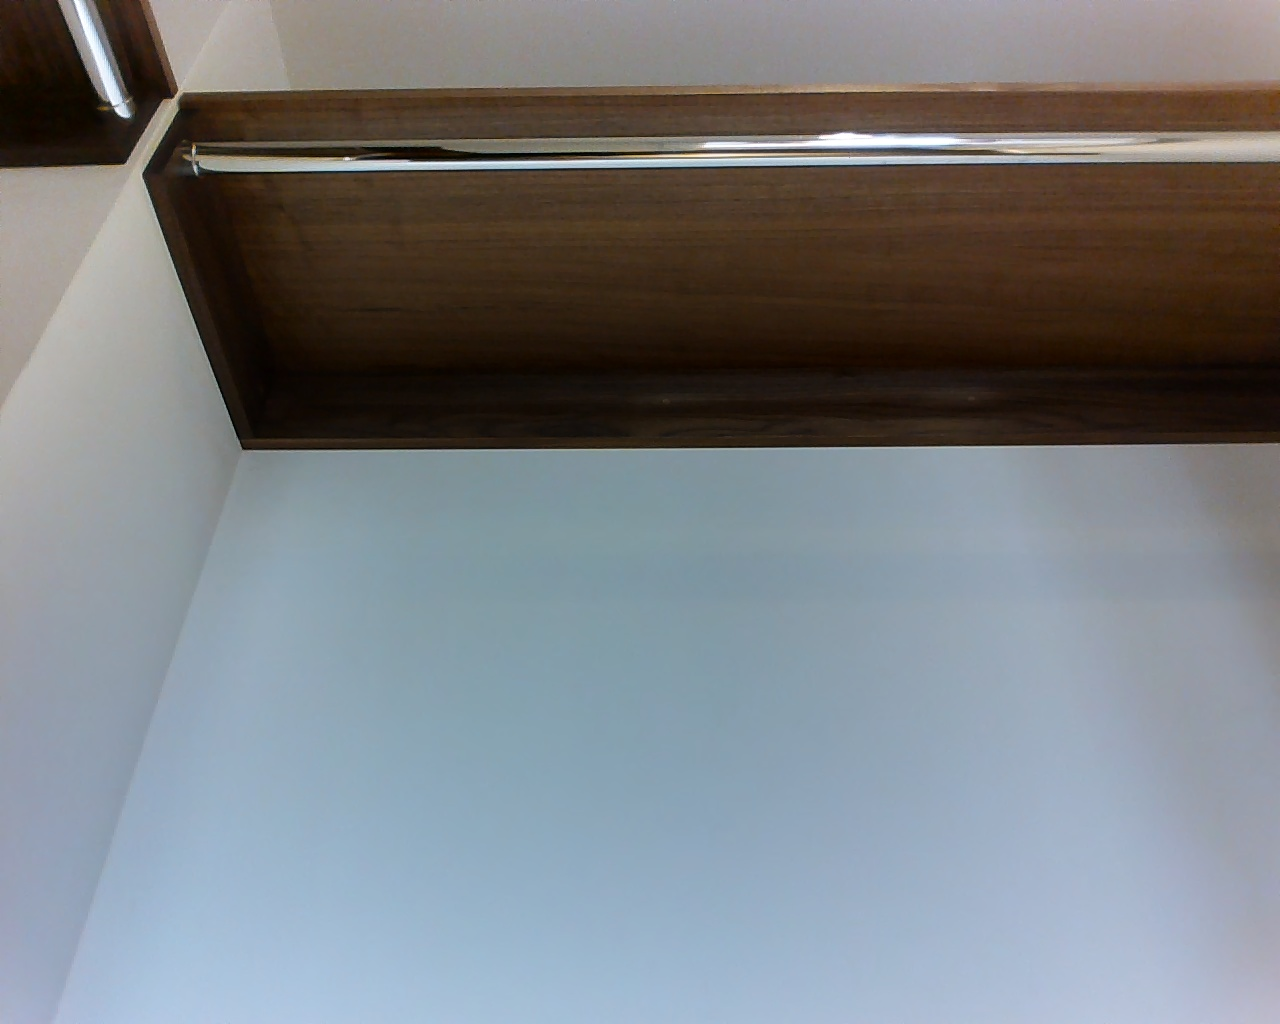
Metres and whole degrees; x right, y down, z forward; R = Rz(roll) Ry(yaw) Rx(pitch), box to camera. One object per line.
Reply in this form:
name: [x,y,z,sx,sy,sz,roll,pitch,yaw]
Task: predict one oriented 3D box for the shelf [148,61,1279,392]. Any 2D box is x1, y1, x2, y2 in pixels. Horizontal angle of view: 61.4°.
shelf: [0.230,-0.320,1.290,1.480,0.060,0.410,0,-41,0]
